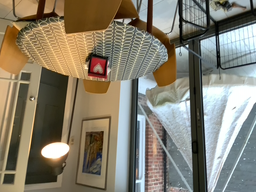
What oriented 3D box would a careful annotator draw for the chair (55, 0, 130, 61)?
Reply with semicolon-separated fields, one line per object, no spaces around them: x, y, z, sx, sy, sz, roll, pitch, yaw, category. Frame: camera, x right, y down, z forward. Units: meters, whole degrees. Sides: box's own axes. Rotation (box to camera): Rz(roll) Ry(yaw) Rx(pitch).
-0.190;-0.730;1.470;0.360;0.850;0.420;0;166;8;chair

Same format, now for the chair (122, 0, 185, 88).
0.240;-0.570;2.030;0.420;0.850;0.390;10;164;-30;chair

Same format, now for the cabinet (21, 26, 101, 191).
-0.850;0.280;2.850;0.520;2.230;0.650;-10;161;40;cabinet

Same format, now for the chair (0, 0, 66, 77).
-0.890;-0.640;1.920;0.420;0.850;0.390;0;166;7;chair
